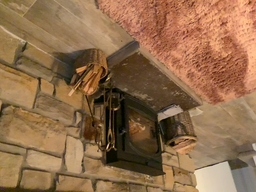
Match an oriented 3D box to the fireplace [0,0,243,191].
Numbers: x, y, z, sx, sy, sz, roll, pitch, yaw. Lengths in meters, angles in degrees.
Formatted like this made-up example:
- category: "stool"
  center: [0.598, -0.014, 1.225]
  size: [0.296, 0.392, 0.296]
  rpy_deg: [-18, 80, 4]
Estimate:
- category: "fireplace"
  center: [0.060, 0.340, 1.640]
  size: [0.830, 0.980, 2.230]
  rpy_deg: [-25, 143, 30]
